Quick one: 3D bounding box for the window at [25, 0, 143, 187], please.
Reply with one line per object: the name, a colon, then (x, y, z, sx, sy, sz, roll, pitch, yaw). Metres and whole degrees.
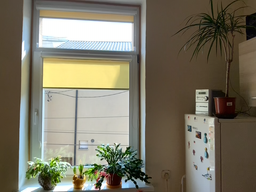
window: (-0.440, -0.080, 2.300, 1.170, 1.980, 0.210, 1, -2, -7)
